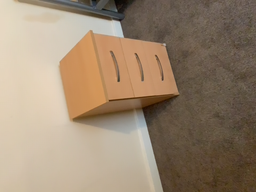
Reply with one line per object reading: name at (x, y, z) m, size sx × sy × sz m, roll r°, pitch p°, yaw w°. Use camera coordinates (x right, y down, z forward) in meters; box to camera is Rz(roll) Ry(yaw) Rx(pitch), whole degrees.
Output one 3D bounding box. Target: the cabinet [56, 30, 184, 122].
cabinet at (-0.050, -0.110, 1.460) m, size 0.450 × 0.680 × 0.410 m, roll -24°, pitch 76°, yaw 48°
